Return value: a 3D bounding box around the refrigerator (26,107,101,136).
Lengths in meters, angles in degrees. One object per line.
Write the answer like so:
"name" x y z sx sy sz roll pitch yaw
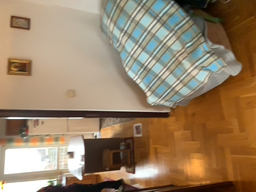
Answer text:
"refrigerator" -1.610 0.620 5.360 0.550 1.710 0.630 177 95 -65
